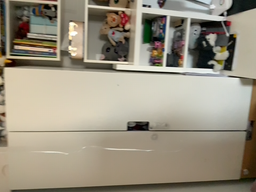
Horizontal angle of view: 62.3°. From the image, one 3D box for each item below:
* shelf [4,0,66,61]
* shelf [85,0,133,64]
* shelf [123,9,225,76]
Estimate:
[{"bbox_3d":[-0.540,-0.710,1.270,0.200,0.310,0.970,-138,51,-76],"label":"shelf"},{"bbox_3d":[-0.120,-0.710,1.360,0.190,0.280,0.980,-138,51,-76],"label":"shelf"},{"bbox_3d":[0.270,-0.330,1.410,0.370,0.530,0.340,-138,51,-76],"label":"shelf"}]
